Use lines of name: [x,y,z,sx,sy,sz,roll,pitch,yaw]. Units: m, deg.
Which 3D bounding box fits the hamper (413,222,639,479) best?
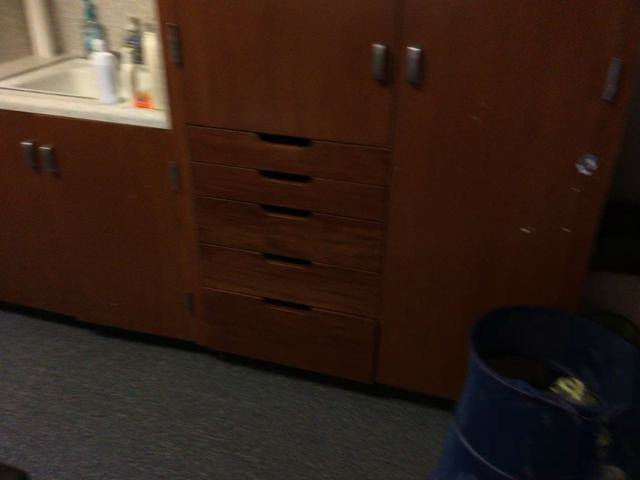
hamper: [0.510,0.430,1.270,0.550,0.670,0.600,10,29,12]
